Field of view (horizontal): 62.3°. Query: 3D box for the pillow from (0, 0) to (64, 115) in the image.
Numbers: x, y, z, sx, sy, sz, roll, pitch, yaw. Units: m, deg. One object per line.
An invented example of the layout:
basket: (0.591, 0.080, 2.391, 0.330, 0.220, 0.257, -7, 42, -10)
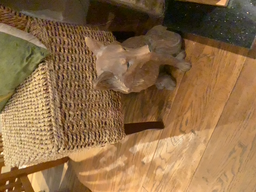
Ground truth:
pillow: (-0.510, -0.060, 0.650, 0.560, 0.320, 0.180, -23, 79, 37)
